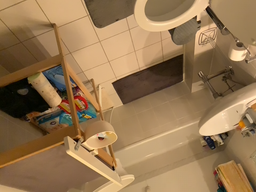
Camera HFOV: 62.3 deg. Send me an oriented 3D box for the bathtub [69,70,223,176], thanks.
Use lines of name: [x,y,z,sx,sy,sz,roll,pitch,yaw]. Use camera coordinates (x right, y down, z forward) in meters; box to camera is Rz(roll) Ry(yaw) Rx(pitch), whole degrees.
bathtub: [0.220,0.390,2.740,1.700,0.560,0.700,-22,149,2]

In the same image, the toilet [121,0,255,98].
toilet: [0.340,-0.540,1.110,0.650,0.830,0.410,-22,149,2]
